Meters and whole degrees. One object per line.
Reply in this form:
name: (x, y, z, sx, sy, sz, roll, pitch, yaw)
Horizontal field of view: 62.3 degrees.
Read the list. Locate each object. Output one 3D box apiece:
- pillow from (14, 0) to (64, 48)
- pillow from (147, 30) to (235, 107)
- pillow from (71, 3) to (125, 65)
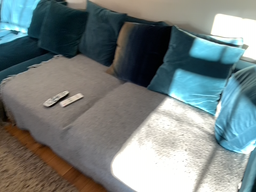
pillow: (-0.970, -0.820, 2.280, 0.510, 0.440, 0.150, -12, 18, 47)
pillow: (0.440, -0.180, 1.520, 0.530, 0.460, 0.140, 4, 29, 42)
pillow: (-0.290, -0.560, 2.010, 0.490, 0.490, 0.130, 4, 20, 42)
